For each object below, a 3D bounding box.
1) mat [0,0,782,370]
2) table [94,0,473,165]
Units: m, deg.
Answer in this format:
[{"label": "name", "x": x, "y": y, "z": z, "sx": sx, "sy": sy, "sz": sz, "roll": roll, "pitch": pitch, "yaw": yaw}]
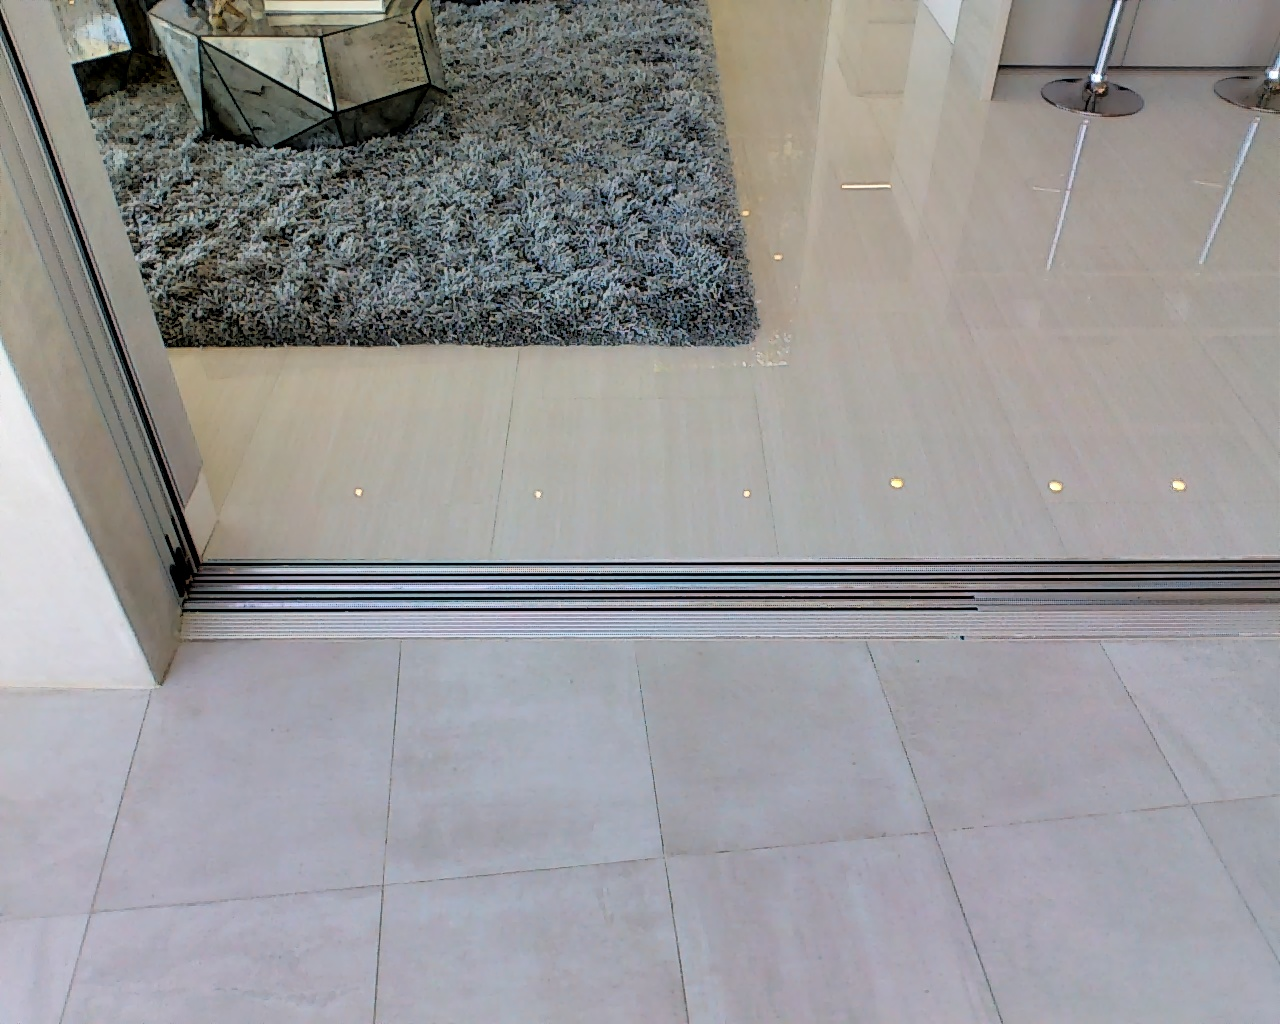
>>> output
[{"label": "mat", "x": -1.830, "y": -1.490, "z": 3.900, "sx": 4.350, "sy": 0.130, "sz": 3.280, "roll": 0, "pitch": 41, "yaw": 0}, {"label": "table", "x": -1.140, "y": -1.570, "z": 3.680, "sx": 1.000, "sy": 0.430, "sz": 0.830, "roll": 0, "pitch": 41, "yaw": 0}]
